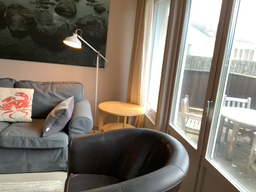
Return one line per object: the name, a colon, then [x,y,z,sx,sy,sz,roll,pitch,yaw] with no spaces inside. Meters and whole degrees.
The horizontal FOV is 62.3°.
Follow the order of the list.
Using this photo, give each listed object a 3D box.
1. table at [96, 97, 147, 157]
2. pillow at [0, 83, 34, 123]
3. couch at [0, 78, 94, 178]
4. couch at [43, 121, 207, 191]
table: [-0.130,0.380,2.880,0.530,0.570,0.720,2,13,-13]
pillow: [-1.330,0.080,2.340,0.460,0.400,0.160,4,-18,-11]
couch: [-1.330,0.270,2.350,1.800,0.790,0.970,2,13,-12]
couch: [-0.090,0.650,1.430,0.770,0.720,0.780,2,13,-12]
